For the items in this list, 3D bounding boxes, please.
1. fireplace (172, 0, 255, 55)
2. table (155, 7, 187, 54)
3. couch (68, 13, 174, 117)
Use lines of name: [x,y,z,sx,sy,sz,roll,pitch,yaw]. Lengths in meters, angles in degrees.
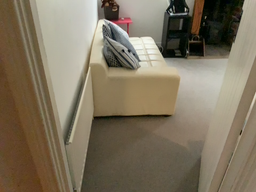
fireplace: [1.770,-1.580,4.210,1.410,1.170,1.100,0,33,-2]
table: [0.800,-1.260,4.060,0.420,0.760,0.460,0,33,-2]
couch: [-0.090,-0.610,3.070,1.010,0.710,2.020,1,33,-1]
